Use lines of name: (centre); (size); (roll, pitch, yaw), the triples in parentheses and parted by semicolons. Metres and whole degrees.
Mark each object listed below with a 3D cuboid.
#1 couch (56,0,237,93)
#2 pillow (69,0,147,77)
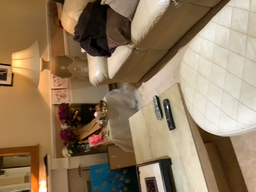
couch: (0.060, -1.000, 1.900); (2.310, 0.970, 1.070); (-43, 52, 54)
pillow: (-0.260, -0.640, 2.200); (0.750, 0.500, 0.570); (-44, 52, 54)
